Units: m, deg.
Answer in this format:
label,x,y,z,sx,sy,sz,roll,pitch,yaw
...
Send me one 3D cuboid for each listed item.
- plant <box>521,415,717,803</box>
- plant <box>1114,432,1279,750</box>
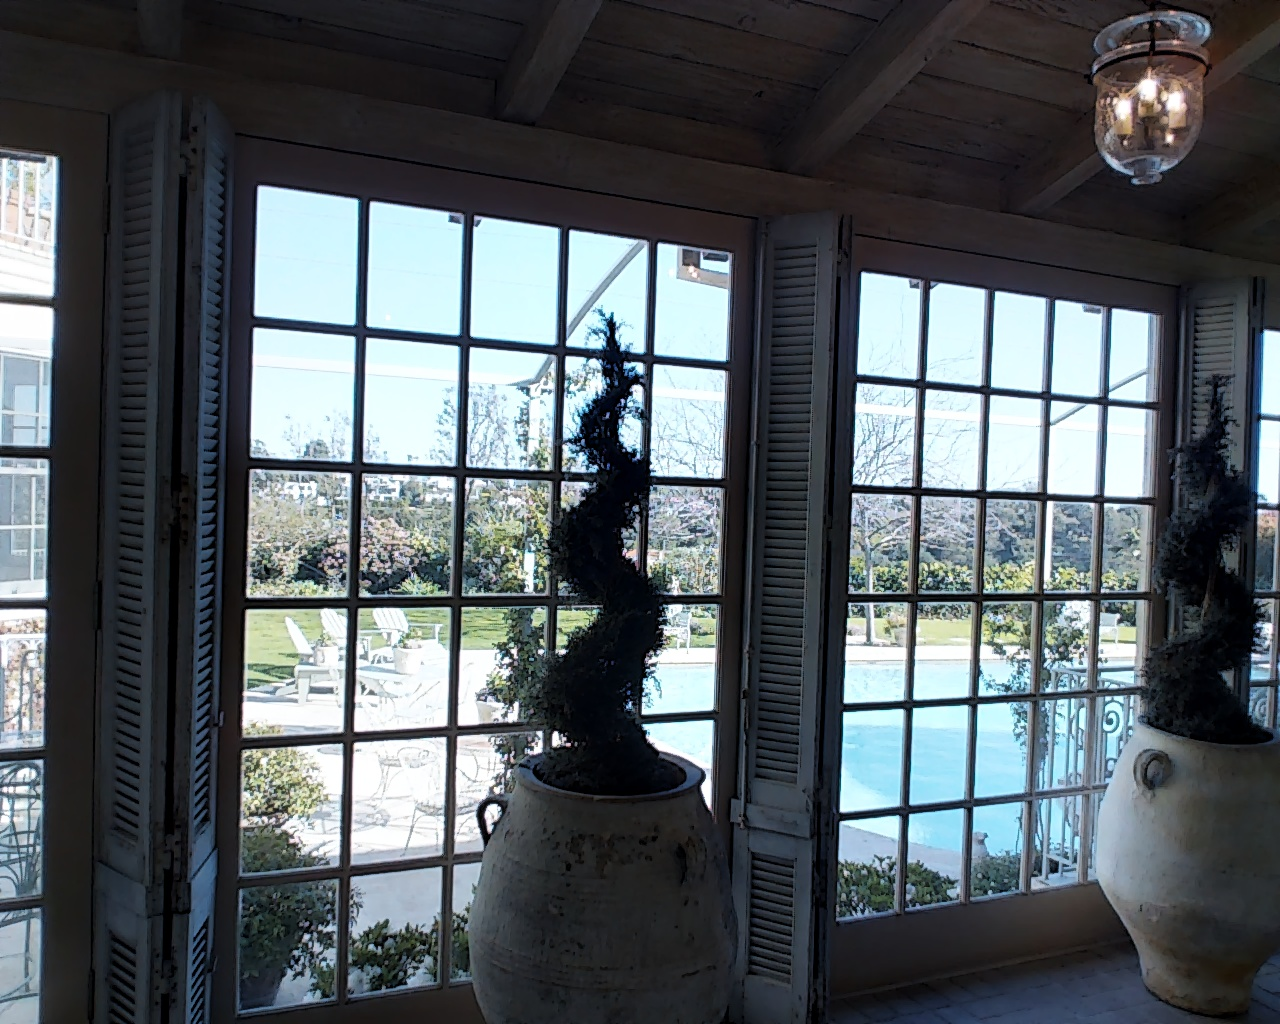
label,x,y,z,sx,sy,sz,roll,pitch,yaw
plant,-0.060,0.220,2.660,0.340,0.880,0.350,2,1,-26
plant,1.919,0.250,3.620,0.450,1.000,0.330,2,1,-26
